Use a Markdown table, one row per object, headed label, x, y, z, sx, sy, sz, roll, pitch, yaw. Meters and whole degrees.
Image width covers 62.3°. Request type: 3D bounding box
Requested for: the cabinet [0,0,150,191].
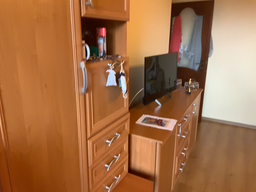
| label | x | y | z | sx | sy | sz | roll | pitch | yaw |
| --- | --- | --- | --- | --- | --- | --- | --- | --- | --- |
| cabinet | -0.290 | -0.100 | 0.950 | 0.460 | 1.450 | 0.870 | 9 | 18 | 26 |
